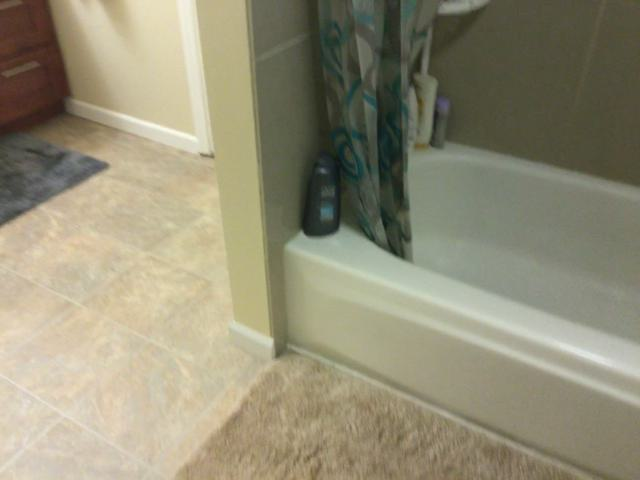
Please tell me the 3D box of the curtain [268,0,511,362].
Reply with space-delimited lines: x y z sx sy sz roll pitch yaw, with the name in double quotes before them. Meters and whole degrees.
"curtain" 0.150 -0.310 1.260 0.350 1.120 0.380 20 41 25
